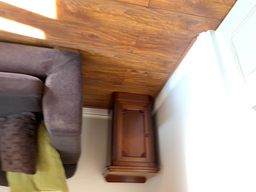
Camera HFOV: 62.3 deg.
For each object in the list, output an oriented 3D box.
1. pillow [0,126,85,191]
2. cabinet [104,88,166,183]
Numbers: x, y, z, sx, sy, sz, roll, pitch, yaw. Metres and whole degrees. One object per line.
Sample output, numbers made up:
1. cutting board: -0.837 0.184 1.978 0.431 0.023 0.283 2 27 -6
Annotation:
1. pillow: -0.670 0.490 1.490 0.560 0.440 0.220 4 139 36
2. cabinet: 0.040 0.370 1.950 0.440 0.750 0.380 6 151 -11
